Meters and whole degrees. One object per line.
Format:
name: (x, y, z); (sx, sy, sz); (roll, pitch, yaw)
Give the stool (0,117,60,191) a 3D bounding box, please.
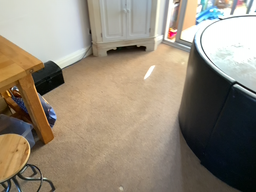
stool: (-0.690, 0.450, 1.280); (0.330, 0.470, 0.310); (26, 47, 25)
